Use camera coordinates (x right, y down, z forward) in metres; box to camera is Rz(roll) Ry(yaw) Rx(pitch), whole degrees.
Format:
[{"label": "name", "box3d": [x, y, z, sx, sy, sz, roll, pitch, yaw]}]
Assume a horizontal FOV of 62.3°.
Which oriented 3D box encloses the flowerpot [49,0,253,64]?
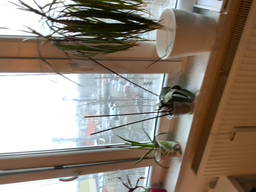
[{"label": "flowerpot", "box3d": [0.100, -0.320, 0.950, 0.220, 0.830, 0.290, -124, 35, -65]}]
